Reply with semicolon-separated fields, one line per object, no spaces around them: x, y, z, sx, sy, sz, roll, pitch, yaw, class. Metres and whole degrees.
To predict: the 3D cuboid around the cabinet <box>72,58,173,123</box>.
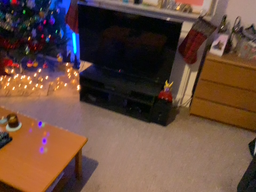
-0.070;-0.090;2.510;1.090;0.390;0.390;15;33;11;cabinet

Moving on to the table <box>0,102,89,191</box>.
-0.890;0.420;1.550;1.070;0.390;0.530;16;33;15;table

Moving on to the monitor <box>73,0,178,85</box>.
-0.090;-0.560;2.260;1.080;0.680;0.050;16;33;13;monitor
